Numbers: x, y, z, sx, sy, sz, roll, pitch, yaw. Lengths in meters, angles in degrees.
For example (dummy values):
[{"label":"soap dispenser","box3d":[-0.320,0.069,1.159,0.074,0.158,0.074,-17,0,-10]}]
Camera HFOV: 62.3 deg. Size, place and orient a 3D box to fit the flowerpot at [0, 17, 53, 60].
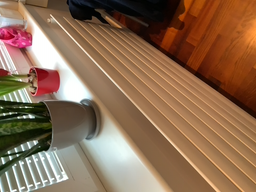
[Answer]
[{"label":"flowerpot","box3d":[-0.610,-0.330,1.220,0.220,0.260,0.140,45,125,36]}]
